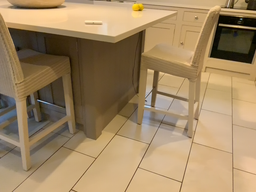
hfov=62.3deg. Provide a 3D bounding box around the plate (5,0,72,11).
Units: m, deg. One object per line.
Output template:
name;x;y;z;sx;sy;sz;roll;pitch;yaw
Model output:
plate;-0.770;-0.840;1.860;0.380;0.110;0.390;13;30;19

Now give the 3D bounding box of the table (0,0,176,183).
table;-0.880;-0.390;2.030;2.290;0.910;1.360;13;30;18

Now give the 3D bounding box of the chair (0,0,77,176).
chair;-0.700;-0.080;1.390;0.430;0.980;0.520;13;30;19
